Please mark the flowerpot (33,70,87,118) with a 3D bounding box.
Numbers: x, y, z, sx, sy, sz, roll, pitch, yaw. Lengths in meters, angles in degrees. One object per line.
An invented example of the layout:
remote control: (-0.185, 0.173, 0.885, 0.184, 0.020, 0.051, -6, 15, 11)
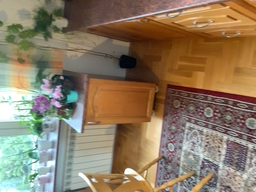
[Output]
flowerpot: (-0.610, -0.030, 1.840, 0.480, 0.290, 0.290, 24, 108, 52)
